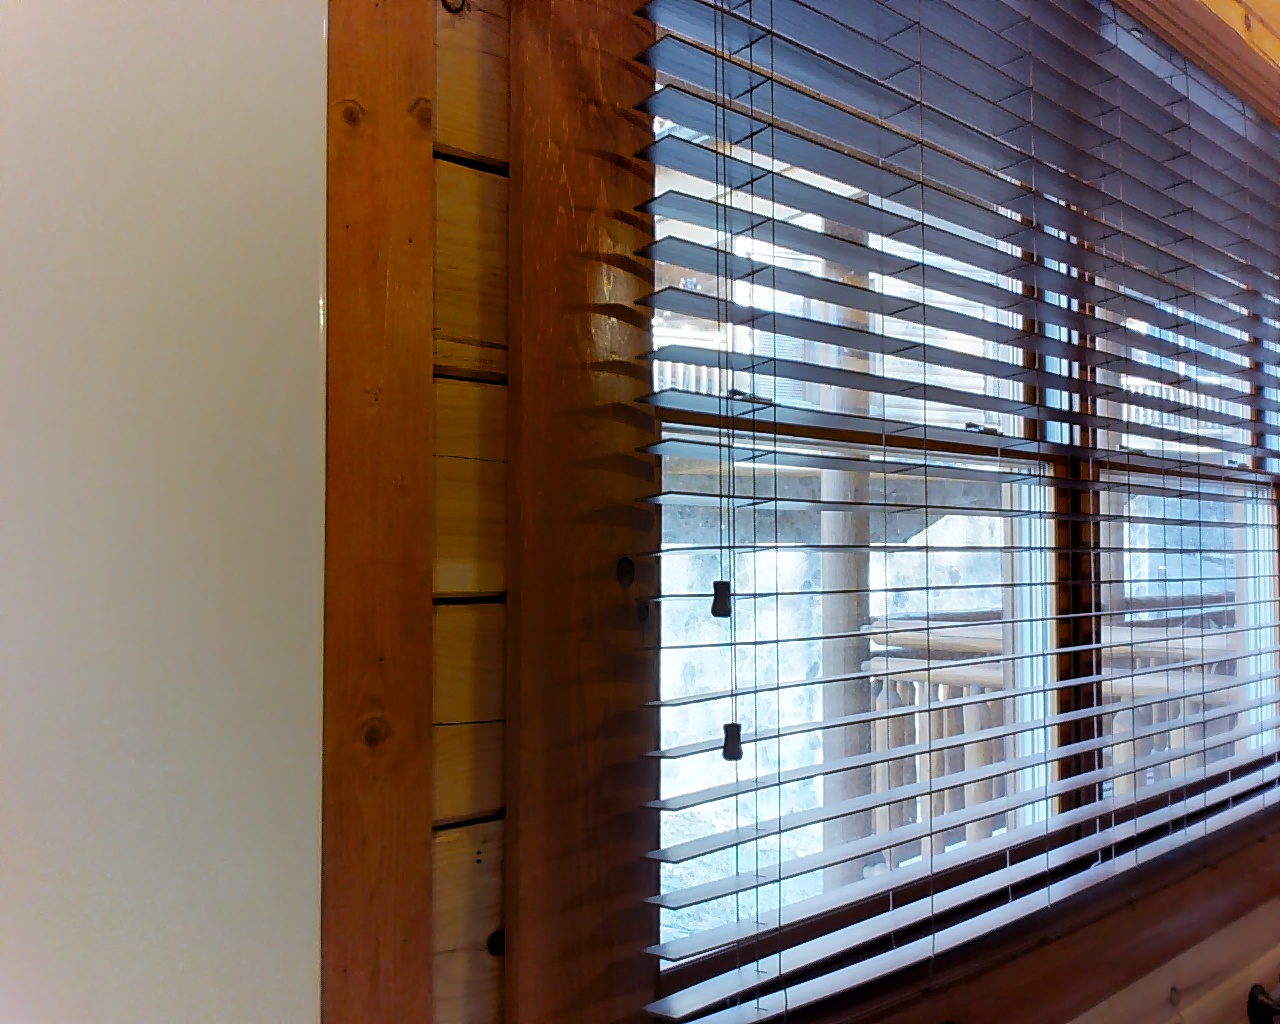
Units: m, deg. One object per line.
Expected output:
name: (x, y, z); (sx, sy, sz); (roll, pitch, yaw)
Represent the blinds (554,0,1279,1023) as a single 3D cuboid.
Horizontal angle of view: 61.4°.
blinds: (0.760, -0.160, 1.620); (2.090, 1.430, 0.140); (2, -2, -42)
